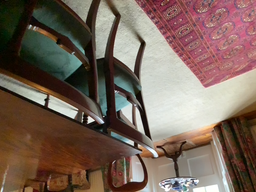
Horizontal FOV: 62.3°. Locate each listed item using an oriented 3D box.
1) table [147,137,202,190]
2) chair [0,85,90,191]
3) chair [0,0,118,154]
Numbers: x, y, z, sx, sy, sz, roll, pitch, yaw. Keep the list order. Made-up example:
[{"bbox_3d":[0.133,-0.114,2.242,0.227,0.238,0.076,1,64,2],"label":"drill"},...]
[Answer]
[{"bbox_3d":[0.750,1.130,3.500,0.630,0.640,0.490,-26,140,30],"label":"table"},{"bbox_3d":[-0.760,0.460,2.080,0.510,0.880,0.530,-17,144,19],"label":"chair"},{"bbox_3d":[-0.410,-0.260,1.030,0.500,0.870,0.480,-28,140,31],"label":"chair"}]
